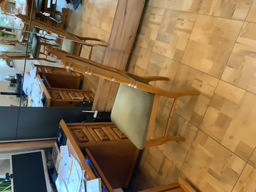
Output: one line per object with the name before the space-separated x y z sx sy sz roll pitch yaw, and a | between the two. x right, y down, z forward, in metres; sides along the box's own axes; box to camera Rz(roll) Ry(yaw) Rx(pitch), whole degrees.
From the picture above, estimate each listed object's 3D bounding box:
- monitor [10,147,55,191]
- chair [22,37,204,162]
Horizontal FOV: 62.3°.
monitor | -0.880 0.670 1.960 0.030 0.350 0.430 -55 41 34
chair | -0.080 0.020 1.530 0.470 1.120 0.570 36 116 50
